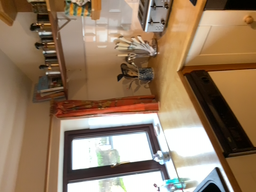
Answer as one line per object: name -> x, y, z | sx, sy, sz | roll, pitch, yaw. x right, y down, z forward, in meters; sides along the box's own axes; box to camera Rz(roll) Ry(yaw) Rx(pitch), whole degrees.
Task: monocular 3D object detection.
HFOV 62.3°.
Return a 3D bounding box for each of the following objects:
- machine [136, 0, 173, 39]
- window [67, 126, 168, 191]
machine -> 0.190, -0.620, 1.620 | 0.260, 0.180, 0.250 | 100, 162, -53
window -> -0.110, 0.620, 1.790 | 0.070, 0.780, 0.730 | 99, 163, -50
